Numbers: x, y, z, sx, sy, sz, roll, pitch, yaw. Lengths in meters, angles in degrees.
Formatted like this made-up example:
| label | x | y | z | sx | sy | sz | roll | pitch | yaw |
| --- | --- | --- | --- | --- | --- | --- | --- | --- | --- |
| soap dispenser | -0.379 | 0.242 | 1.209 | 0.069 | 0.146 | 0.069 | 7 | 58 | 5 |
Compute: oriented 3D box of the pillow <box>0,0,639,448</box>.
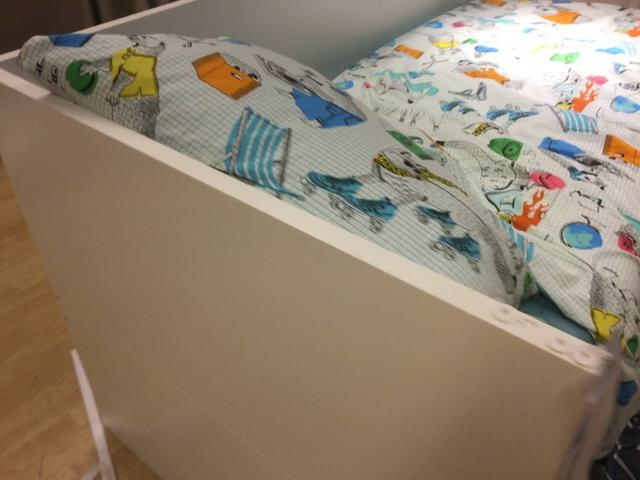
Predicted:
| label | x | y | z | sx | sy | sz | roll | pitch | yaw |
| --- | --- | --- | --- | --- | --- | --- | --- | --- | --- |
| pillow | 0.000 | -0.170 | 0.900 | 0.750 | 0.320 | 0.550 | 26 | 47 | 32 |
